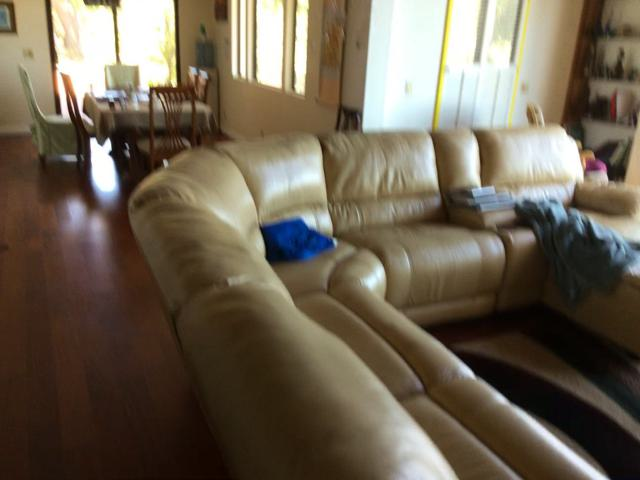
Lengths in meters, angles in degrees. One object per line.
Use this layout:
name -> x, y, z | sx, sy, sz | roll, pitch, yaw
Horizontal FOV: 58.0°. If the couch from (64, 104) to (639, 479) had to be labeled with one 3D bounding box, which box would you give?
couch -> 0.880, 0.180, 2.600 | 3.370, 1.060, 3.020 | -8, 24, -27
